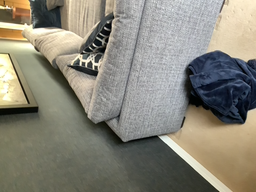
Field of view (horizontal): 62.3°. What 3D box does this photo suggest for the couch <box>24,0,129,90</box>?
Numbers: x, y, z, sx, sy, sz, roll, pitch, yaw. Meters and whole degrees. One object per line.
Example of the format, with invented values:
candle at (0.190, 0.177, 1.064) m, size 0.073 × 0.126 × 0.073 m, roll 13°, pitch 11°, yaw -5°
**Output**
couch at (-0.920, -1.100, 3.060) m, size 2.060 × 0.680 × 1.270 m, roll 39°, pitch 124°, yaw 46°
